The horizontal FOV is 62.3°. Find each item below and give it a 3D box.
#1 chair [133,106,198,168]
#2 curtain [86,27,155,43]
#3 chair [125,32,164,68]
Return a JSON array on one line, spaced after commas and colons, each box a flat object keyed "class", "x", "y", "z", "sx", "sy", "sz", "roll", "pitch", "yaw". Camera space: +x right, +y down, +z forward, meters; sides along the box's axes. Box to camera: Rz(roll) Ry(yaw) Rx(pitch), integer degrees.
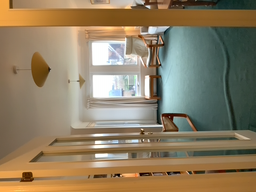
[{"class": "chair", "x": 0.600, "y": 0.700, "z": 3.800, "sx": 0.780, "sy": 0.950, "sz": 0.750, "roll": -100, "pitch": 10, "yaw": -67}, {"class": "curtain", "x": -0.220, "y": -1.850, "z": 6.440, "sx": 0.200, "sy": 2.060, "sz": 0.450, "roll": -149, "pitch": 58, "yaw": -85}, {"class": "chair", "x": 0.410, "y": -1.300, "z": 5.890, "sx": 0.790, "sy": 0.960, "sz": 0.680, "roll": -96, "pitch": 6, "yaw": -50}]
